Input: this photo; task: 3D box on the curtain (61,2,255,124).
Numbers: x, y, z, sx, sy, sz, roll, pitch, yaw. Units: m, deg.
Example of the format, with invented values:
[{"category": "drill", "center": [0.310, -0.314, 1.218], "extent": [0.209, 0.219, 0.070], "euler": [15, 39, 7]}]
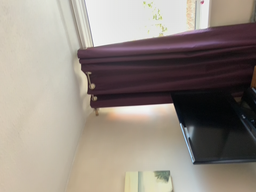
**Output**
[{"category": "curtain", "center": [0.490, -0.250, 1.790], "extent": [0.300, 1.860, 0.880], "euler": [-87, -8, -60]}]
